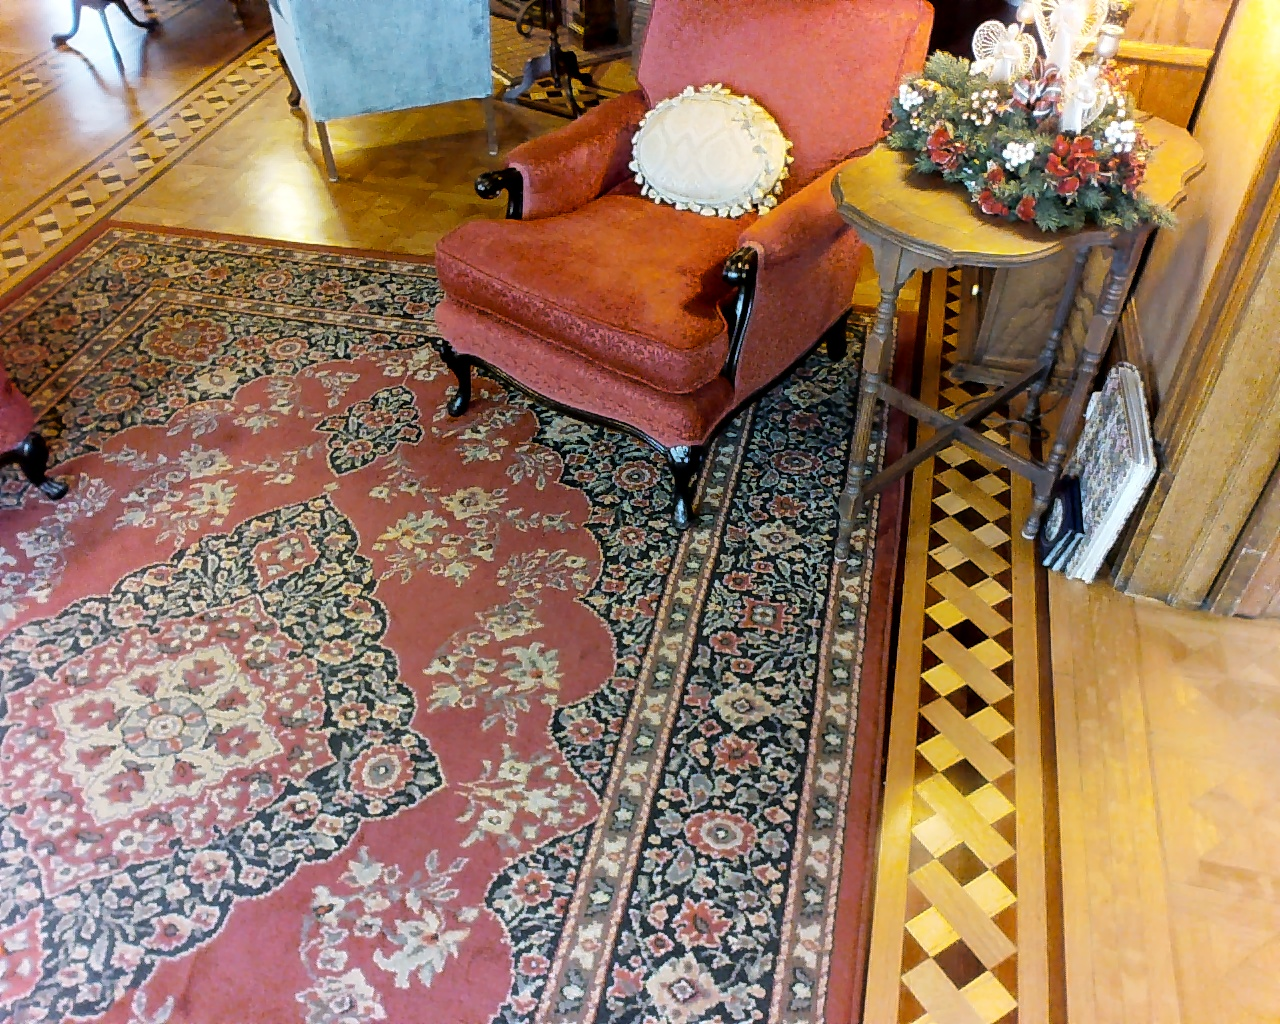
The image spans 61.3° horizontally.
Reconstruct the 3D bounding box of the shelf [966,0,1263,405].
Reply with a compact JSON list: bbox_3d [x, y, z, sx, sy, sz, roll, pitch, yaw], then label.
[{"bbox_3d":[1.040,-1.070,2.310,0.340,1.560,0.650,9,44,10],"label":"shelf"}]

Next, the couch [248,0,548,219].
[{"bbox_3d":[-0.810,-1.630,3.360,0.760,0.990,0.880,-15,45,-15],"label":"couch"}]

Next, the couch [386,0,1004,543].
[{"bbox_3d":[0.130,-0.650,2.350,0.790,0.810,0.930,28,50,27],"label":"couch"}]

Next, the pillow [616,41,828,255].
[{"bbox_3d":[0.170,-0.800,2.380,0.400,0.260,0.190,29,62,14],"label":"pillow"}]
